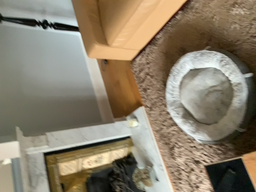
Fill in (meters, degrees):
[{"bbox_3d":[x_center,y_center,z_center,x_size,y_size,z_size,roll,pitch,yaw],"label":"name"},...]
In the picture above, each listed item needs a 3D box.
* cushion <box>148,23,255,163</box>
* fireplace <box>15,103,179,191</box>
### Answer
[{"bbox_3d":[0.520,-0.020,1.520,0.710,0.120,0.680,58,135,34],"label":"cushion"},{"bbox_3d":[-0.230,0.850,1.860,0.640,1.140,1.350,-41,60,47],"label":"fireplace"}]
